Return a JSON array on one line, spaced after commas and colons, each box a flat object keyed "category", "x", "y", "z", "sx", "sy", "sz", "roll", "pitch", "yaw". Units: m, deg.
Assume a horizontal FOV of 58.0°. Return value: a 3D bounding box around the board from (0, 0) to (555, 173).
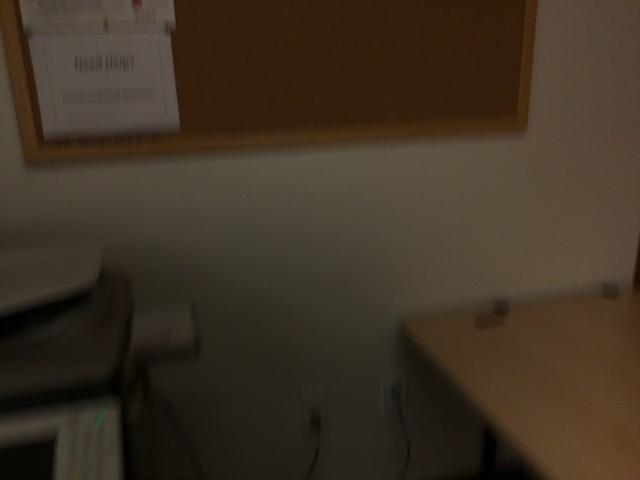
[{"category": "board", "x": -0.050, "y": -0.650, "z": 1.190, "sx": 1.230, "sy": 0.940, "sz": 0.060, "roll": -6, "pitch": 18, "yaw": -14}]
